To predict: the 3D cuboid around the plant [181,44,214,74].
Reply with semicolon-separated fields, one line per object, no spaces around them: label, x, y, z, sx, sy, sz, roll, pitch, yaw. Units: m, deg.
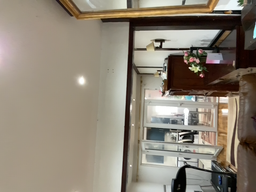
plant;1.080;-0.570;3.330;0.350;0.430;0.380;23;-111;-81
